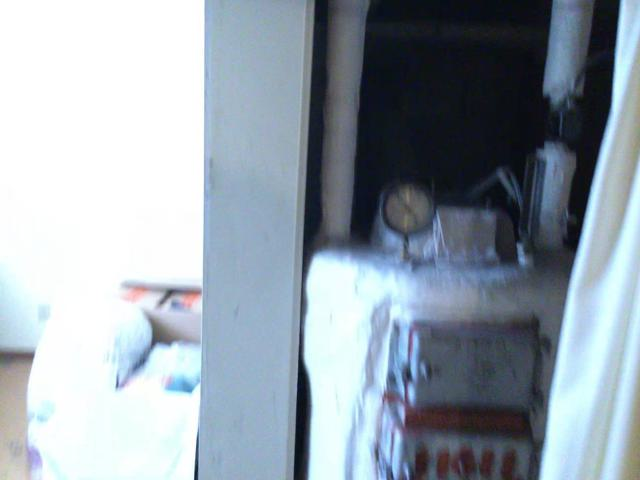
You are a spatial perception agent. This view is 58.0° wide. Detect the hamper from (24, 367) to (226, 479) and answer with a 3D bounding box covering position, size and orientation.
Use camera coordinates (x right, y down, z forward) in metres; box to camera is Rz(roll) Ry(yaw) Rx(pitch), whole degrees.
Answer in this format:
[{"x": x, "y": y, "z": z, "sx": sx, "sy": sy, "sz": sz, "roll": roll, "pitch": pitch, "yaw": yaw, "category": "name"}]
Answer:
[{"x": -0.570, "y": 0.800, "z": 1.820, "sx": 0.480, "sy": 0.640, "sz": 0.480, "roll": 2, "pitch": 9, "yaw": -4, "category": "hamper"}]
